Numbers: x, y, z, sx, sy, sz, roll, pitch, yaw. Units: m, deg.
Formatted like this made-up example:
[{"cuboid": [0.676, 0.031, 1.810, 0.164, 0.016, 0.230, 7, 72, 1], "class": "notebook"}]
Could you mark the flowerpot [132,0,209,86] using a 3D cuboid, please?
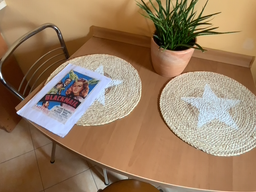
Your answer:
[{"cuboid": [0.150, -0.270, 0.760, 0.210, 0.390, 0.220, 14, 52, 11], "class": "flowerpot"}]
